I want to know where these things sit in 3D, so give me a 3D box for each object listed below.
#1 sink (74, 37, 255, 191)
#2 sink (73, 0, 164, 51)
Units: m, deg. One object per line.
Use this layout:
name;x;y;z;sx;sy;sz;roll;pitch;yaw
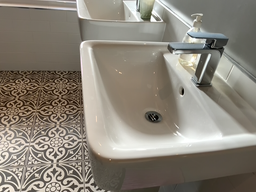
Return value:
sink;0.060;0.010;0.670;0.440;0.160;0.560;-1;38;-14
sink;-0.100;-0.470;1.260;0.430;0.150;0.570;-1;38;-14
